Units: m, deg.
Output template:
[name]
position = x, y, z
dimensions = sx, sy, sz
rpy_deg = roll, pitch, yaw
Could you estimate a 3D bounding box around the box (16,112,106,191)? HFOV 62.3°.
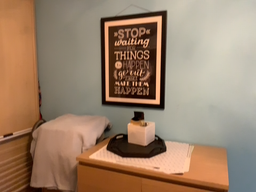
[box]
position = -0.500, 0.550, 1.640
dimensions = 0.550, 0.760, 0.360
rpy_deg = 4, 7, 24
